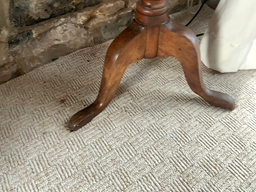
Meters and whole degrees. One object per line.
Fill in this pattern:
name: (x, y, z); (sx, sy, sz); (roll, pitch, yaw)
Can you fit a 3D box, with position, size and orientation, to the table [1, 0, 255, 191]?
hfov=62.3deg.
table: (0.070, -0.280, 0.440); (0.610, 0.740, 0.470); (-28, 56, -21)
